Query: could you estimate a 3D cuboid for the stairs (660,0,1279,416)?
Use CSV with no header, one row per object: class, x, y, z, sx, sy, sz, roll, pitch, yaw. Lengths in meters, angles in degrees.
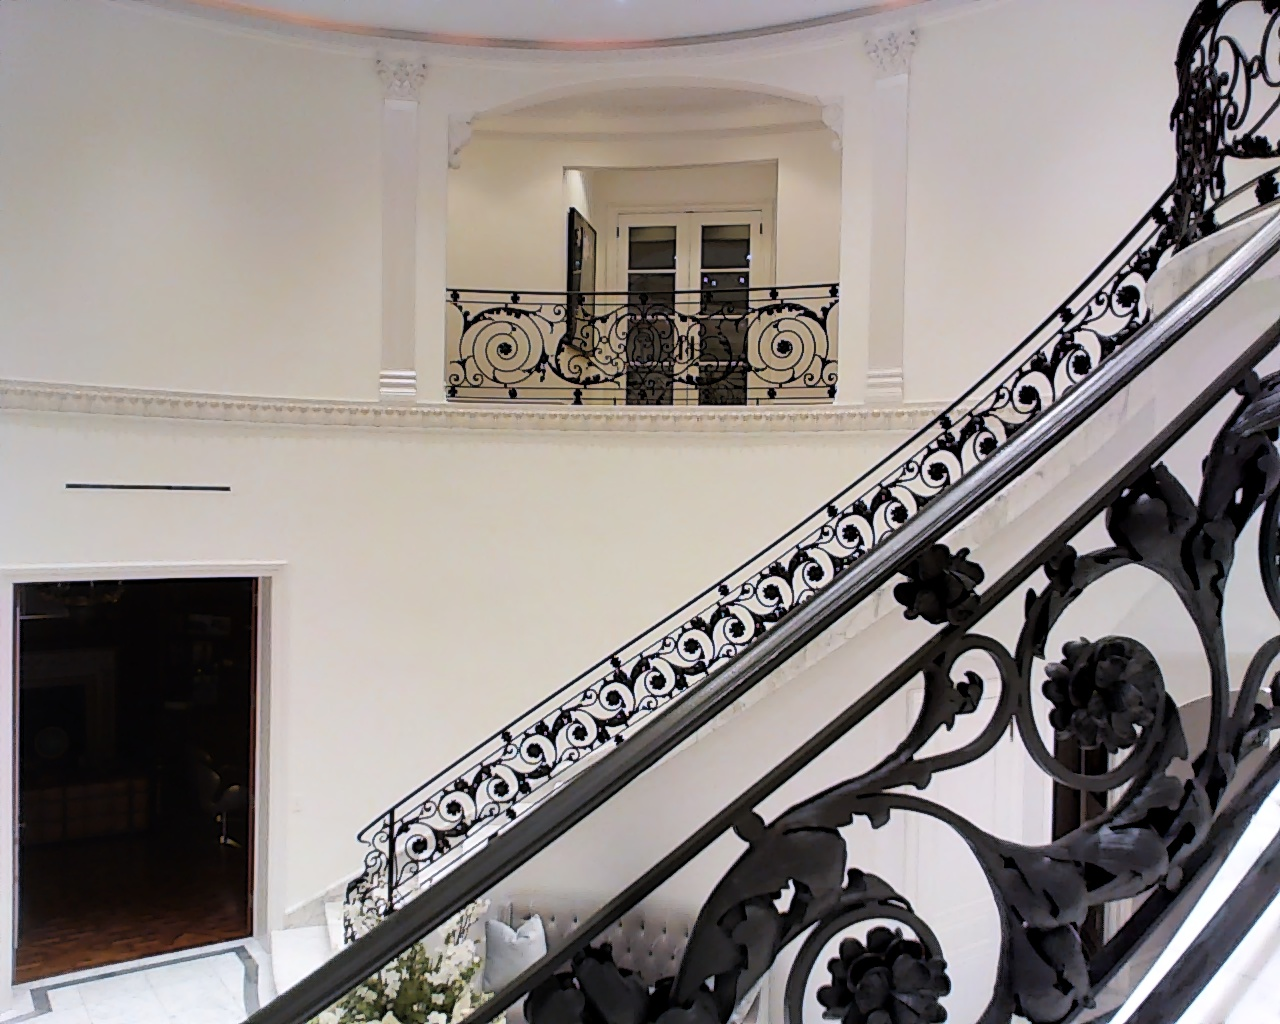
stairs,1.900,-2.761,7.900,2.129,3.651,5.380,1,1,-13
